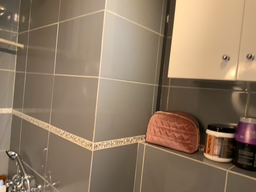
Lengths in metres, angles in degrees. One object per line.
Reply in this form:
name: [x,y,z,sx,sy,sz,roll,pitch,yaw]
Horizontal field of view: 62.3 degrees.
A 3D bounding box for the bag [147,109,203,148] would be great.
bag: [0.210,0.140,0.970,0.130,0.130,0.200,4,3,-45]
